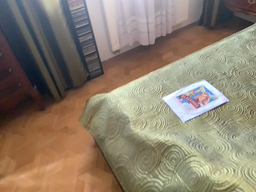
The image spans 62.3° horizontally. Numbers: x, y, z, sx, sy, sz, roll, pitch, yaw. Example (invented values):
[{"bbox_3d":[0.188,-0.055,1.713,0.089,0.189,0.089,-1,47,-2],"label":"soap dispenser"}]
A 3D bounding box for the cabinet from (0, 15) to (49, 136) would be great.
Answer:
[{"bbox_3d":[-1.080,-0.310,1.540,0.460,1.280,0.410,-24,46,-16],"label":"cabinet"}]
